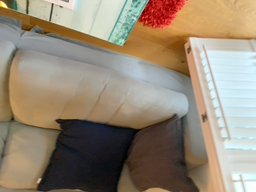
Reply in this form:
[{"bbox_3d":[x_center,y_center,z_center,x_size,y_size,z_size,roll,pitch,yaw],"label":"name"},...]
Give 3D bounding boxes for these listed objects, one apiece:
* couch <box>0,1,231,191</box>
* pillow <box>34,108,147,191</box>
[{"bbox_3d":[-0.780,0.100,1.370,2.500,0.770,1.050,12,146,-20],"label":"couch"},{"bbox_3d":[-0.240,0.450,1.490,0.570,0.510,0.150,36,138,5],"label":"pillow"}]
